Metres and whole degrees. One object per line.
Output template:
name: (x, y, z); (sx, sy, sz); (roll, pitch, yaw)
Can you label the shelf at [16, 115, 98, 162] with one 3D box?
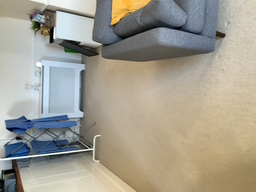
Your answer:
shelf: (-1.290, 0.720, 3.920); (0.590, 1.310, 0.630); (8, 95, 57)
